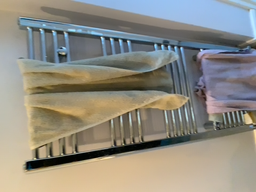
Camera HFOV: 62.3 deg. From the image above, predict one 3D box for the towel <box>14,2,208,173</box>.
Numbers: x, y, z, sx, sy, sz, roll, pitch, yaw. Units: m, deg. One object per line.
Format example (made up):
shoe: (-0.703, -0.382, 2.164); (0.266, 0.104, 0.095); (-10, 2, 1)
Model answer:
towel: (-0.010, -0.030, 0.780); (0.150, 0.700, 0.430); (-5, 88, 59)

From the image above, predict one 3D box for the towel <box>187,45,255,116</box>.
towel: (0.590, -0.080, 1.200); (0.120, 0.550, 0.340); (-9, 84, 58)
